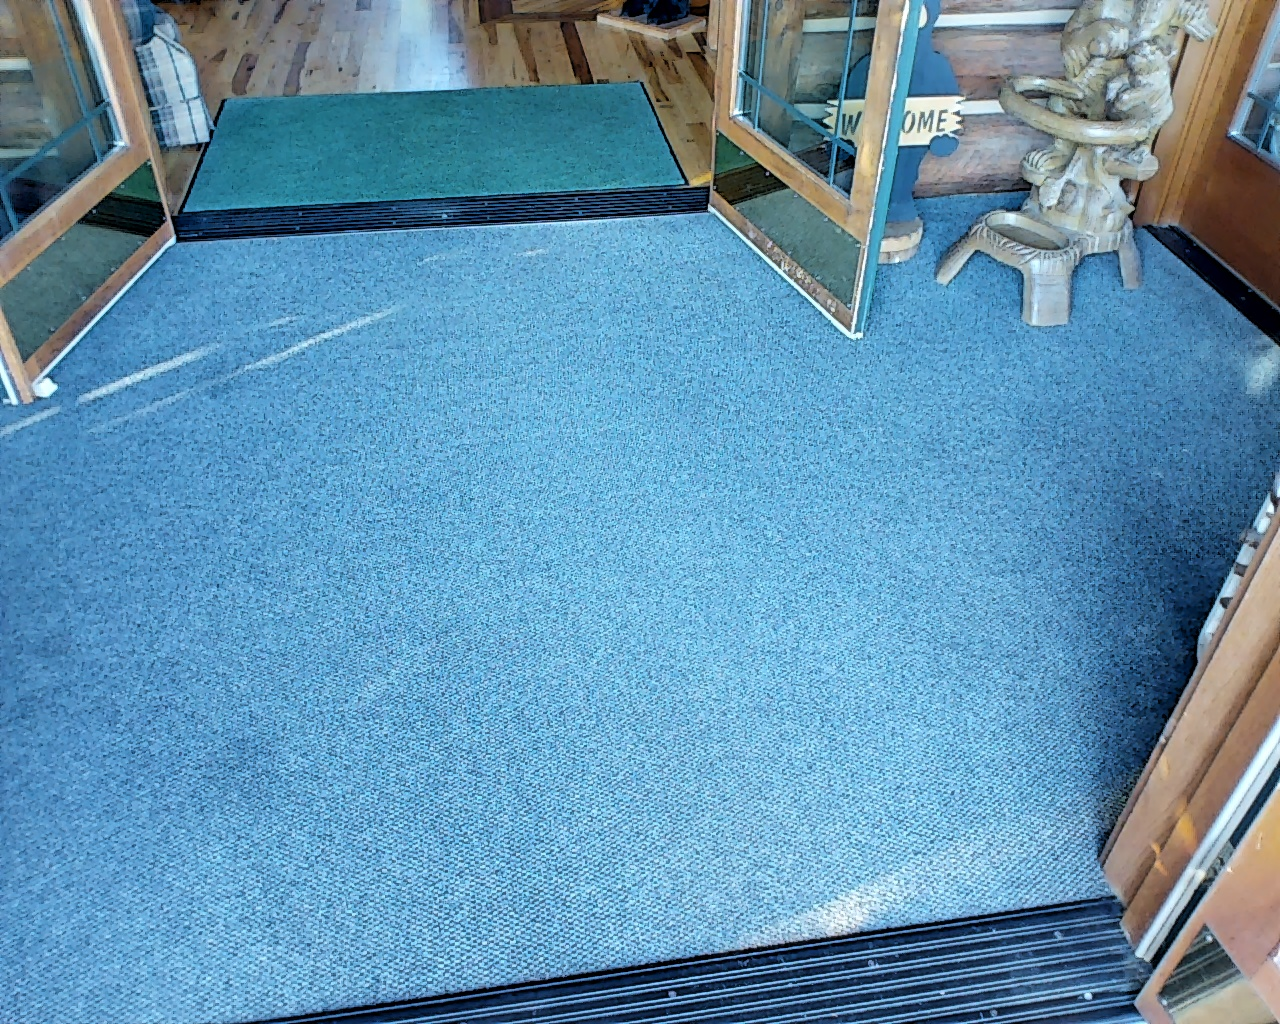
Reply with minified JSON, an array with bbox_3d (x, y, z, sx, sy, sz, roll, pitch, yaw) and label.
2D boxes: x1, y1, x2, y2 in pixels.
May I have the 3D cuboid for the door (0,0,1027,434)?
[{"bbox_3d":[-0.550,-1.490,2.570,2.640,2.110,1.230,-5,41,-7],"label":"door"}]
